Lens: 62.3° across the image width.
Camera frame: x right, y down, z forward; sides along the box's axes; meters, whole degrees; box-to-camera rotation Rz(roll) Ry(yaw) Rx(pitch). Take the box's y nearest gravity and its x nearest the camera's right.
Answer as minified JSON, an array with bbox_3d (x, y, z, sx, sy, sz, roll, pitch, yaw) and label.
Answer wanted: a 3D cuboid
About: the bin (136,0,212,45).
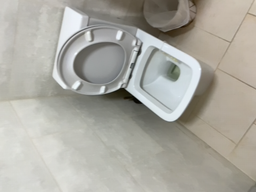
[{"bbox_3d":[0.280,-0.510,1.310,0.260,0.290,0.280,39,120,35],"label":"bin"}]

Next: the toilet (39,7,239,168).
[{"bbox_3d":[0.080,-0.100,1.160,0.590,0.840,0.420,39,120,35],"label":"toilet"}]
